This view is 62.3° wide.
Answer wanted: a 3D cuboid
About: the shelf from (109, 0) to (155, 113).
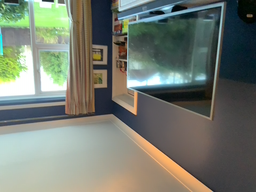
[{"bbox_3d":[0.010,-0.860,3.050,0.260,2.020,0.860,-5,-165,-26],"label":"shelf"}]
